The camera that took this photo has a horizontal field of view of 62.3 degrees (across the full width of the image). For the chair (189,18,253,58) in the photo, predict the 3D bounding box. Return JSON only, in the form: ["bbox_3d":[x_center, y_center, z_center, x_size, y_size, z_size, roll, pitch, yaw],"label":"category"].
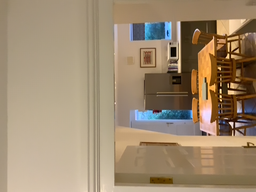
[{"bbox_3d":[1.560,-0.970,3.650,0.520,0.880,0.510,22,-113,-86],"label":"chair"}]

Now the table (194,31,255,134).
[{"bbox_3d":[1.630,-0.190,3.620,0.940,0.750,1.530,29,-120,-85],"label":"table"}]

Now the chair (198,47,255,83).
[{"bbox_3d":[1.570,-0.450,3.270,0.560,0.820,0.490,-35,-55,-85],"label":"chair"}]

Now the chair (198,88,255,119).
[{"bbox_3d":[1.570,0.120,3.270,0.550,0.820,0.440,29,-120,-85],"label":"chair"}]
